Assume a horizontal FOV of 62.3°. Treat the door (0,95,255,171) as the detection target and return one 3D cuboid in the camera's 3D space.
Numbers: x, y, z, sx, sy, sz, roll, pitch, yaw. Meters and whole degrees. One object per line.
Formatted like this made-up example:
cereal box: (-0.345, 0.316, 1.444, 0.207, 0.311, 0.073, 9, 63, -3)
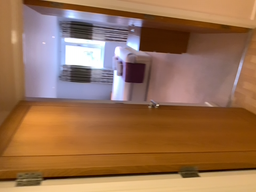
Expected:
door: (0.260, 0.210, 1.500, 0.800, 2.100, 0.030, -118, 33, -65)
